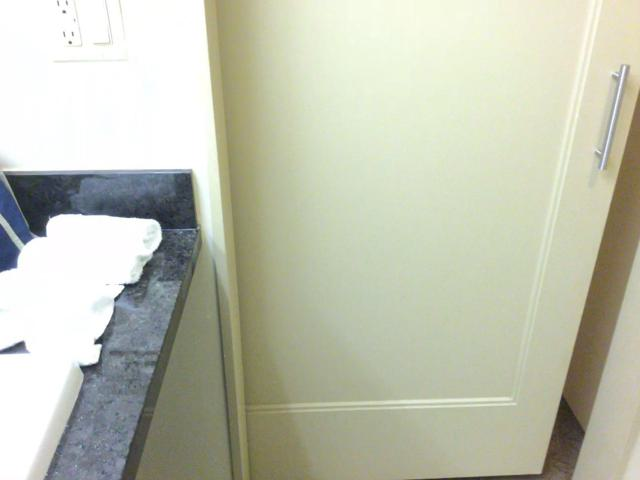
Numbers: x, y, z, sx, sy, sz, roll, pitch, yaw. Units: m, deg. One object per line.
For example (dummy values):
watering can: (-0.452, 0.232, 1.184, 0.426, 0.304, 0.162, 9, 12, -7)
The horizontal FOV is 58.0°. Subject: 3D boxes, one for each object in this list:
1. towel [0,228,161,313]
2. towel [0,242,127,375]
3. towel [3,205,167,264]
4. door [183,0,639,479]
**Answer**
towel: (-0.350, 0.040, 0.840, 0.200, 0.050, 0.150, -1, 28, -2)
towel: (-0.380, 0.080, 0.720, 0.220, 0.080, 0.170, -1, 28, -2)
towel: (-0.370, -0.010, 0.930, 0.220, 0.050, 0.100, -1, 28, -2)
door: (0.210, 0.080, 1.270, 0.870, 1.340, 0.080, -1, 28, -2)
